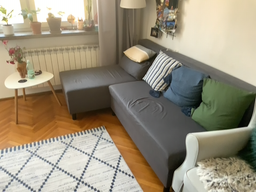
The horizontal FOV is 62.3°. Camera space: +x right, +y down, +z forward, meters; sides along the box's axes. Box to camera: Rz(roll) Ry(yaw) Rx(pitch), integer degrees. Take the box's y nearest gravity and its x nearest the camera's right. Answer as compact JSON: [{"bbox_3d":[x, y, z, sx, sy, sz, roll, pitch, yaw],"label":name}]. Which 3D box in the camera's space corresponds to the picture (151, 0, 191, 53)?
[{"bbox_3d":[0.500,-1.160,2.460,0.110,1.170,0.580,-10,30,-22],"label":"picture"}]

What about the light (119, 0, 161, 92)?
[{"bbox_3d":[0.160,-0.930,3.220,0.420,1.650,0.420,20,33,32],"label":"light"}]

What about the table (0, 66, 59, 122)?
[{"bbox_3d":[-1.220,-0.050,2.680,0.570,0.450,0.500,-9,29,-20],"label":"table"}]
